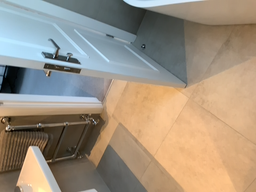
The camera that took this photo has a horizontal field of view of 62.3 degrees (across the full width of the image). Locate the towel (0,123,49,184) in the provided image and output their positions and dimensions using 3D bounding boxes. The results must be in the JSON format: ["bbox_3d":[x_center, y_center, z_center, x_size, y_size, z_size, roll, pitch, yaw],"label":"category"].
[{"bbox_3d":[-0.870,0.450,1.670,0.160,0.310,0.460,45,117,35],"label":"towel"}]

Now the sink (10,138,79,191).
[{"bbox_3d":[-0.500,0.740,1.360,0.840,0.160,0.480,41,115,36],"label":"sink"}]
